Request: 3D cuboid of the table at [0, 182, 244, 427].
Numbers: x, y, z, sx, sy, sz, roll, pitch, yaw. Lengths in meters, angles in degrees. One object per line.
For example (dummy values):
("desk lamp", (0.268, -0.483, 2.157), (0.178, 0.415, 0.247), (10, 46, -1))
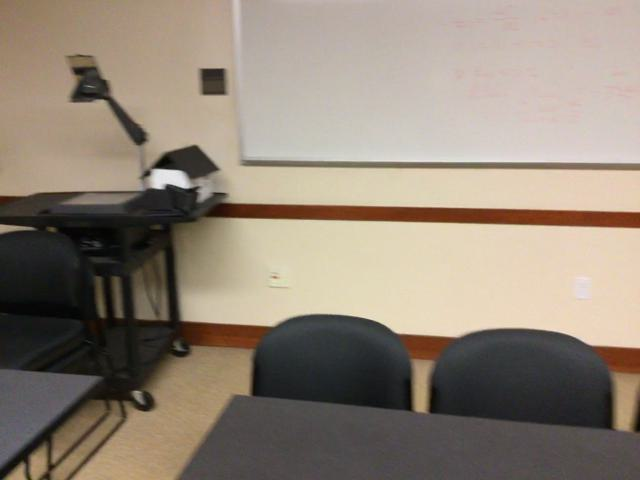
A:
("table", (-0.980, 0.240, 2.820), (1.010, 0.940, 0.780), (2, 12, 8))
